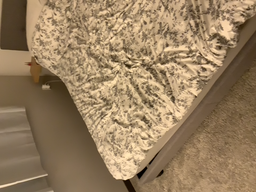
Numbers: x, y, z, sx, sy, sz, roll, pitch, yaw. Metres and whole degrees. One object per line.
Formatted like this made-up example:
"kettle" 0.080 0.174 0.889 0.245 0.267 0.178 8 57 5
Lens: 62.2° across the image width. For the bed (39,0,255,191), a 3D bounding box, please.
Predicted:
"bed" -0.040 -0.700 1.880 2.200 0.570 2.070 54 131 34
